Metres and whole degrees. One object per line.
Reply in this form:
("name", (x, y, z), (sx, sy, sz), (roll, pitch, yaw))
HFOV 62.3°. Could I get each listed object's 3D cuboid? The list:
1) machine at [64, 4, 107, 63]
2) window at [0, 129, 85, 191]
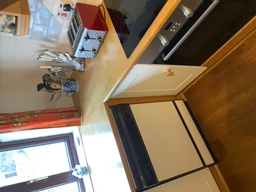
("machine", (-0.320, -0.440, 1.540), (0.320, 0.170, 0.240), (-49, 54, 47))
("window", (-0.810, 0.740, 1.740), (0.120, 0.830, 0.830), (-49, 54, 47))
